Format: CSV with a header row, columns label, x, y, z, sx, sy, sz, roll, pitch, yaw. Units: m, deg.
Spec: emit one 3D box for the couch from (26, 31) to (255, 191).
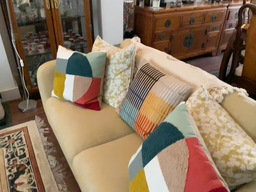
label,x,y,z,sx,sy,sz,roll,pitch,yaw
couch,0.040,0.210,1.390,0.910,0.780,1.470,-17,37,-27
